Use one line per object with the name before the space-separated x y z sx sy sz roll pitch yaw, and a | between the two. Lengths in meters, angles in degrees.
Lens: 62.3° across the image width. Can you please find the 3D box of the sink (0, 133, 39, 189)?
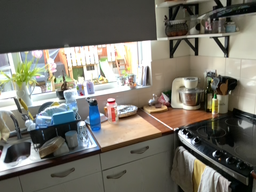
sink | -0.760 0.430 1.480 0.230 0.150 0.390 -10 17 -21
